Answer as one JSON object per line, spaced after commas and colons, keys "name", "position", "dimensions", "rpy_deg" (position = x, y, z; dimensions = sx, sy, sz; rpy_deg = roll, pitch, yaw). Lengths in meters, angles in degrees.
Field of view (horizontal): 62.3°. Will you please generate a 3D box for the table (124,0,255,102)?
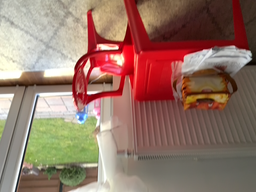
{"name": "table", "position": [0.300, -0.280, 1.210], "dimensions": [0.620, 0.400, 0.500], "rpy_deg": [-3, 147, -1]}
